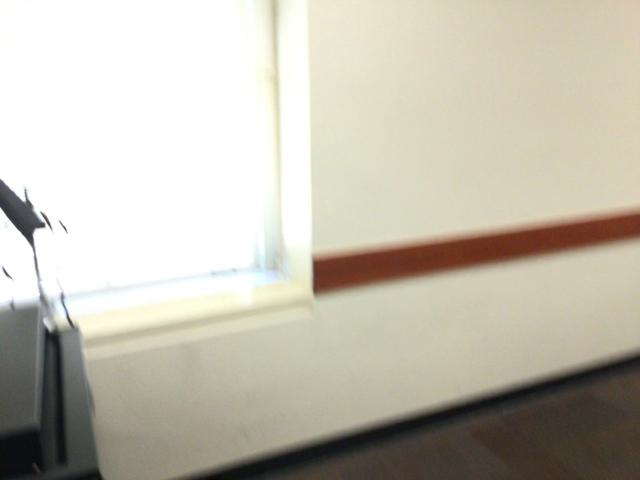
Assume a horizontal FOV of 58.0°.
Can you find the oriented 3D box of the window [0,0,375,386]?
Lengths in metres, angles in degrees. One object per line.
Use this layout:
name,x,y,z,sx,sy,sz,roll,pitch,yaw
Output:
window,-0.690,-0.620,1.730,1.450,1.810,0.710,-9,16,-18
